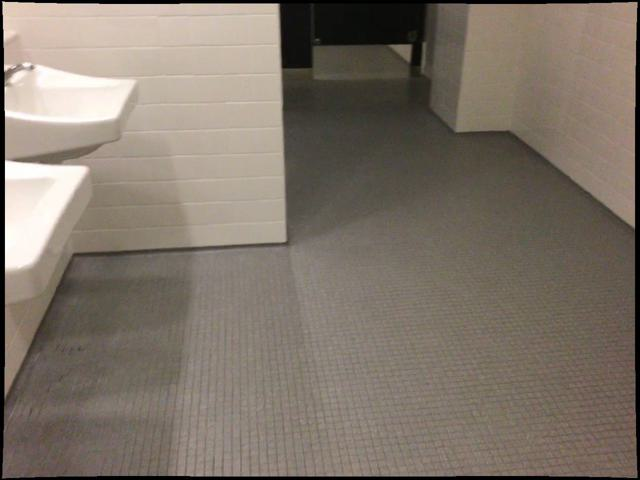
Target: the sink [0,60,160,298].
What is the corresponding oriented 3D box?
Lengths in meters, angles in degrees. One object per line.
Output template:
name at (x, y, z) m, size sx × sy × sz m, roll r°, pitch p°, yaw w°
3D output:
sink at (-0.828, -0.231, 1.890) m, size 0.459 × 0.551 × 0.620 m, roll -4°, pitch 31°, yaw -7°
